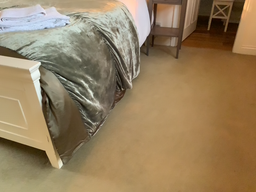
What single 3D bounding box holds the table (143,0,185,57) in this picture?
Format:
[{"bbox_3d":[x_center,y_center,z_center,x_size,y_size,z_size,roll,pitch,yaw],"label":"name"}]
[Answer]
[{"bbox_3d":[0.420,-0.860,2.480,0.390,0.660,0.340,11,36,16],"label":"table"}]
